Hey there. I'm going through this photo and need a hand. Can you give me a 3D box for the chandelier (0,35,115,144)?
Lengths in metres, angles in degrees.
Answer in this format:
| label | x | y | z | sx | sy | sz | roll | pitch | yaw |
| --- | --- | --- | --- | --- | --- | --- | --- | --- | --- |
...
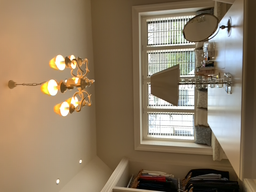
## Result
| label | x | y | z | sx | sy | sz | roll | pitch | yaw |
| --- | --- | --- | --- | --- | --- | --- | --- | --- | --- |
| chandelier | -0.780 | -0.200 | 2.690 | 1.350 | 0.800 | 0.890 | -62 | 151 | -62 |
